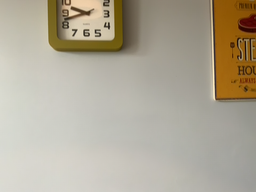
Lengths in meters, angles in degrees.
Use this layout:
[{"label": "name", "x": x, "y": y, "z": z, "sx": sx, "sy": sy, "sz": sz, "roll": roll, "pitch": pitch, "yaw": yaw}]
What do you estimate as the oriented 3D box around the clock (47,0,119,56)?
[{"label": "clock", "x": -0.140, "y": -0.260, "z": 0.680, "sx": 0.220, "sy": 0.250, "sz": 0.050, "roll": 0, "pitch": -1, "yaw": -3}]
